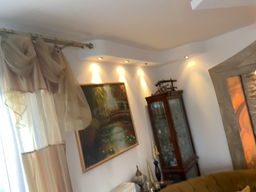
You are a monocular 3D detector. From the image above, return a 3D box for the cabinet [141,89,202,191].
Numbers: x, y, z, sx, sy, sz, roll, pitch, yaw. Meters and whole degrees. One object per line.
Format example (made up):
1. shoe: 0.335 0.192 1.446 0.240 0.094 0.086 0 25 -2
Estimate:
1. cabinet: 0.720 0.900 3.280 0.380 1.950 0.640 -14 -3 31
